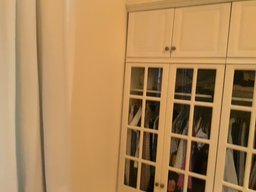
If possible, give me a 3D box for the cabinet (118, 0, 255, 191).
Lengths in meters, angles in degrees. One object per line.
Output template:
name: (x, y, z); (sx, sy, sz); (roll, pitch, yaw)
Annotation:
cabinet: (0.740, 0.410, 1.630); (1.530, 2.190, 0.500); (6, 5, 28)
